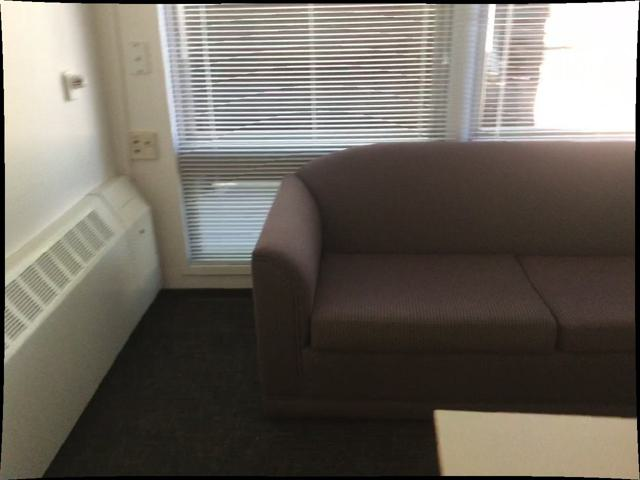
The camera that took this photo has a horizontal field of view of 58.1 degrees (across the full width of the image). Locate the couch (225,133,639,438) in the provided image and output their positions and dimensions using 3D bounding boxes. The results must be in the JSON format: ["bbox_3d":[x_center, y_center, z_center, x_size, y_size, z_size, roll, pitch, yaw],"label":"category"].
[{"bbox_3d":[0.679,0.090,2.120,1.837,0.761,0.940,0,23,2],"label":"couch"}]

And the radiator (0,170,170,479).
[{"bbox_3d":[-0.839,0.421,1.610,0.180,0.661,2.111,0,23,2],"label":"radiator"}]
